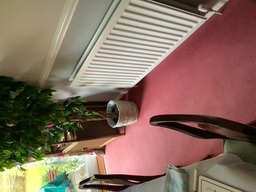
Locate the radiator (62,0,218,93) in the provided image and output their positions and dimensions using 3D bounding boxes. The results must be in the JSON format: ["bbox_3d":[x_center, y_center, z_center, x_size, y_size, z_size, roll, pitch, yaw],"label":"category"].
[{"bbox_3d":[0.010,-0.320,1.750,1.160,0.780,0.100,-39,58,49],"label":"radiator"}]

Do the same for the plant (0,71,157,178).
[{"bbox_3d":[-0.770,0.290,2.040,0.850,1.840,0.630,-45,54,47],"label":"plant"}]

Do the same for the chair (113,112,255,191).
[{"bbox_3d":[0.520,0.360,0.880,0.530,1.020,0.540,-6,85,56],"label":"chair"}]
